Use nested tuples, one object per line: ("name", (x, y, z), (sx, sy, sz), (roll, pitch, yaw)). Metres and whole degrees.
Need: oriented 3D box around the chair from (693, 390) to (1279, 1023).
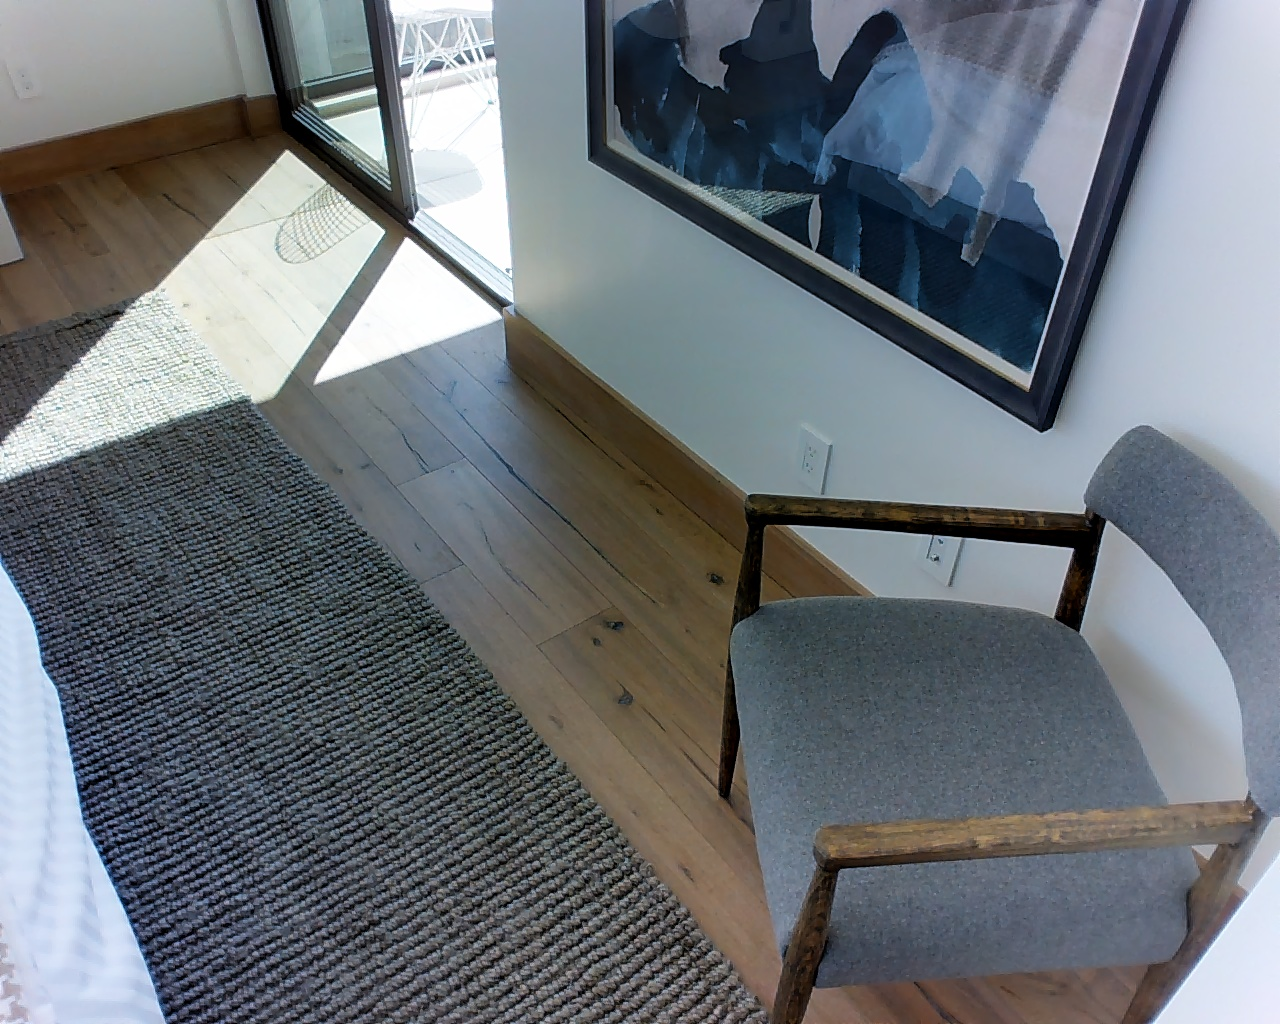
("chair", (0.440, 0.320, 1.430), (0.670, 0.790, 0.540), (0, 42, -2))
